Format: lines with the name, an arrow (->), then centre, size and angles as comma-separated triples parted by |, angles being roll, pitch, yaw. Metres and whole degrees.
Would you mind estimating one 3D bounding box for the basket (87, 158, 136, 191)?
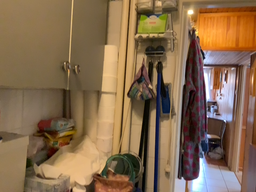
basket -> -0.080, 0.460, 1.160 | 0.180, 0.140, 0.240 | 5, 2, 19
